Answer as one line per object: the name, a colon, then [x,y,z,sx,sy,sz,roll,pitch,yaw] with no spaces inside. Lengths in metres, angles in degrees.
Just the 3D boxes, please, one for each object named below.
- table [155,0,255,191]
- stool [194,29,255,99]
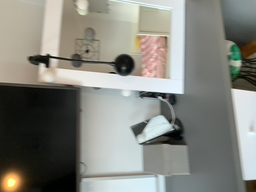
table: [0.680,0.640,1.210,0.590,0.760,2.450,148,125,-65]
stool: [0.780,-0.180,1.420,0.290,0.560,0.310,145,127,-64]
